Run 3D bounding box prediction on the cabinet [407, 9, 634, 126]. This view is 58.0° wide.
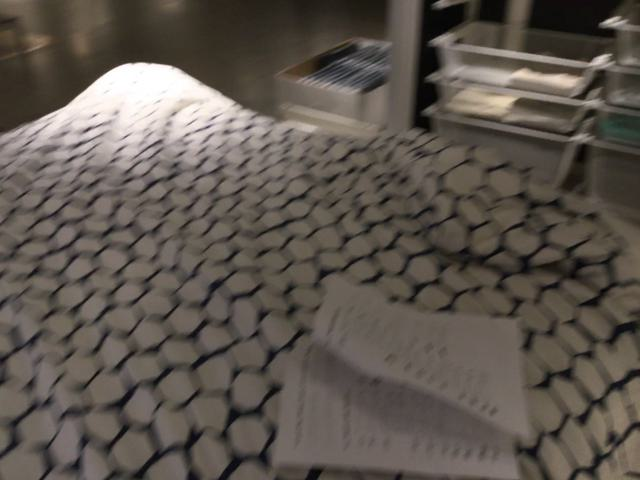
[{"bbox_3d":[0.760,-0.700,2.260,0.720,0.260,0.410,18,41,31],"label":"cabinet"}]

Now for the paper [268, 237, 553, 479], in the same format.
[{"bbox_3d":[0.110,0.140,0.740,0.280,0.130,0.320,0,34,9],"label":"paper"}]

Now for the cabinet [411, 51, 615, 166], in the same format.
[{"bbox_3d":[0.730,-0.540,2.290,0.710,0.290,0.220,18,41,31],"label":"cabinet"}]

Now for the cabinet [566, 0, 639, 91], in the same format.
[{"bbox_3d":[1.260,-0.660,1.900,0.720,0.240,0.410,18,41,31],"label":"cabinet"}]

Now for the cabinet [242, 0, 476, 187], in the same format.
[{"bbox_3d":[0.100,-1.520,2.160,0.900,2.570,0.450,18,41,31],"label":"cabinet"}]
